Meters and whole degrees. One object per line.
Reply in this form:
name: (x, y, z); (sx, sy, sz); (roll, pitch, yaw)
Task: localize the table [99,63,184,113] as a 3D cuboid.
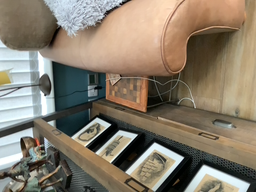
table: (0.080, -0.080, 1.340); (0.390, 0.360, 0.240); (12, 106, 47)

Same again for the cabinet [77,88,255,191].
cabinet: (0.210, 0.300, 1.240); (1.300, 0.390, 0.500); (12, 107, 47)
